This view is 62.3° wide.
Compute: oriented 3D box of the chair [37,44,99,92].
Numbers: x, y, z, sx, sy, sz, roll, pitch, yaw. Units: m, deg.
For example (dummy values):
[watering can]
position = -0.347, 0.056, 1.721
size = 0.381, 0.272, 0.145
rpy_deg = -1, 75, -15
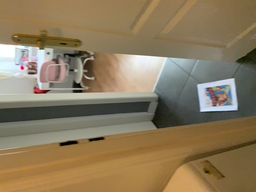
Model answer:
[chair]
position = -1.020, -0.470, 3.550
size = 0.600, 0.840, 0.600
rpy_deg = 39, 124, 52
